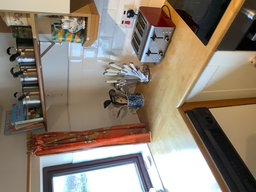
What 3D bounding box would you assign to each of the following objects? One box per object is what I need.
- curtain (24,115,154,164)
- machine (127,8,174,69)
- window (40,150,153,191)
[{"bbox_3d":[-0.280,0.330,1.680,0.200,0.950,0.180,108,151,-45],"label":"curtain"},{"bbox_3d":[0.140,-0.390,1.470,0.320,0.170,0.240,108,151,-46],"label":"machine"},{"bbox_3d":[-0.190,0.860,1.570,0.120,0.830,0.830,108,151,-45],"label":"window"}]
